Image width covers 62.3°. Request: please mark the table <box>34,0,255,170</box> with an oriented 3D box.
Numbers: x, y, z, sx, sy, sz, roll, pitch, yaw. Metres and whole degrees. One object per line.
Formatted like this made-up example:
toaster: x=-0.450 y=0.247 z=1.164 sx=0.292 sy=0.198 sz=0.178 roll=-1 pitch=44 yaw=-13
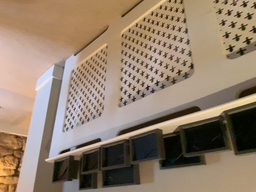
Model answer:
table: x=0.120 y=-0.240 z=1.170 sx=2.060 sy=1.020 sz=0.180 roll=-24 pitch=145 yaw=38
